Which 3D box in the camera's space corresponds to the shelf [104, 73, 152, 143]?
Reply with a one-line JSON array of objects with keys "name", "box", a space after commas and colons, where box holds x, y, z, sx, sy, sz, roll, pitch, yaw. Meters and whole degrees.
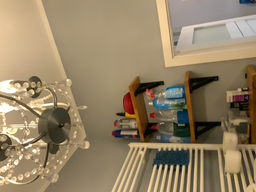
[{"name": "shelf", "box": [0.020, 0.110, 1.810, 0.270, 0.240, 0.520, -59, -39, -57]}]

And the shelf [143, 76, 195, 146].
[{"name": "shelf", "box": [0.350, 0.130, 1.700, 0.250, 0.320, 0.490, -63, -36, -55]}]

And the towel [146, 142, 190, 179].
[{"name": "towel", "box": [0.300, 0.460, 1.550, 0.250, 0.280, 0.100, -61, -37, -56]}]
